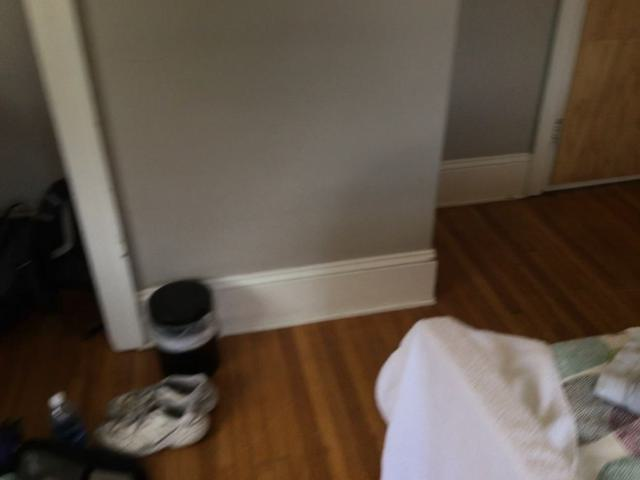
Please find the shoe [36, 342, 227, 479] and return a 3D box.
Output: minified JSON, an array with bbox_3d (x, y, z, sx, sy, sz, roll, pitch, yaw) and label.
[{"bbox_3d":[-0.560,0.520,1.780,0.500,0.130,0.340,-9,32,-10],"label":"shoe"}]
